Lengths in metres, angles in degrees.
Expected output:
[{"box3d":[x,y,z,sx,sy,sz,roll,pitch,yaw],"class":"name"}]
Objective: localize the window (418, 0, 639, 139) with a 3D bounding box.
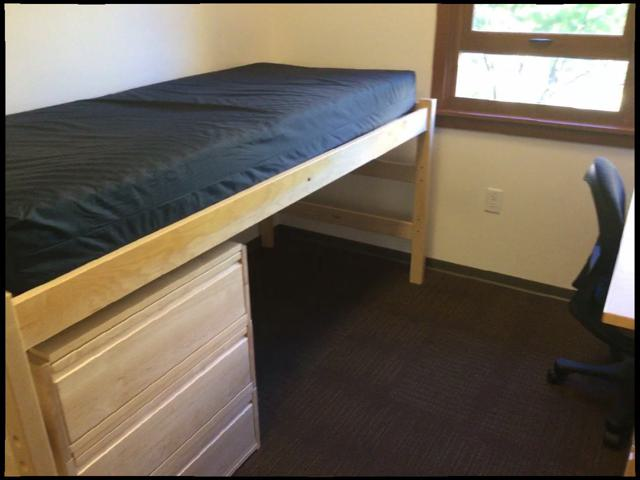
[{"box3d":[1.307,-0.932,2.200,1.828,1.042,0.270,15,29,30],"class":"window"}]
